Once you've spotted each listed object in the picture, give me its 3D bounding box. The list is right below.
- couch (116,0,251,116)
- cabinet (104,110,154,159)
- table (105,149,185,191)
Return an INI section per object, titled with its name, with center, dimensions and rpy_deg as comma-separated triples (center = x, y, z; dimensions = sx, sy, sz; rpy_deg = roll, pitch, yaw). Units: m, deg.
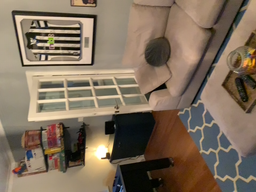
[couch]
center = 0.490, -0.830, 2.320
dimensions = 0.950, 0.810, 2.000
rpy_deg = -111, 24, -43
[cabinet]
center = -0.020, 0.790, 4.260
dimensions = 1.120, 0.770, 0.290
rpy_deg = 103, 156, -43
[table]
center = 0.300, 1.810, 3.150
dimensions = 1.530, 0.910, 1.080
rpy_deg = -112, 25, -45
